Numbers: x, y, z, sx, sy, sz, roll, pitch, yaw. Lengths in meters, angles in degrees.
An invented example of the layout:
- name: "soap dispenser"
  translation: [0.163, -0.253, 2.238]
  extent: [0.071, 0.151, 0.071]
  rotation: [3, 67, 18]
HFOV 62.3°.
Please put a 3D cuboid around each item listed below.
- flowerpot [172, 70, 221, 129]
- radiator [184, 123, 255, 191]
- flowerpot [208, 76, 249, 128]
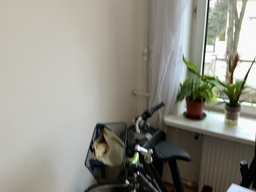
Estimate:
- name: "flowerpot"
  translation: [0.590, 0.010, 1.840]
  extent: [0.300, 0.400, 0.310]
  rotation: [11, 22, 31]
- name: "radiator"
  translation: [0.920, 0.630, 1.780]
  extent: [0.820, 0.590, 0.190]
  rotation: [13, 23, 35]
- name: "flowerpot"
  translation: [0.800, 0.040, 1.690]
  extent: [0.220, 0.330, 0.210]
  rotation: [13, 23, 35]
